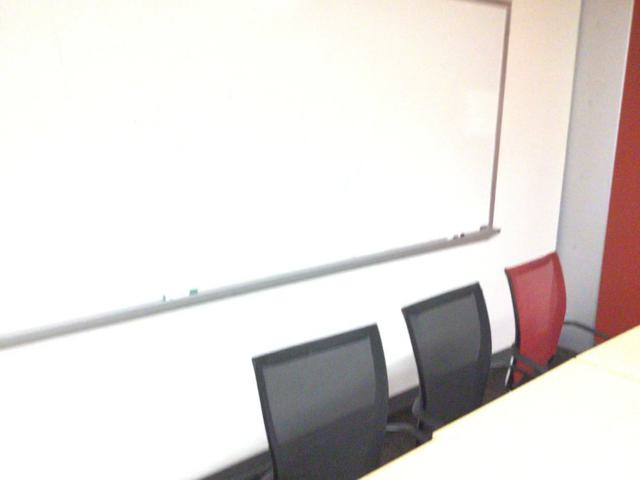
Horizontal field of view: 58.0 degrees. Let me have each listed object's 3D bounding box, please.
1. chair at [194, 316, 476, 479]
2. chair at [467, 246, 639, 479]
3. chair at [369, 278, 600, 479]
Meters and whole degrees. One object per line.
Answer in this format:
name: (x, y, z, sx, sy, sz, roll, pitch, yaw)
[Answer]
chair: (0.040, 0.750, 1.590, 0.560, 0.880, 0.460, -10, 16, -36)
chair: (0.950, 0.540, 2.290, 0.500, 0.900, 0.460, -10, 16, -36)
chair: (0.530, 0.650, 1.970, 0.510, 0.870, 0.510, -10, 16, -36)
